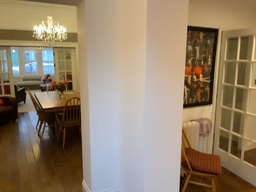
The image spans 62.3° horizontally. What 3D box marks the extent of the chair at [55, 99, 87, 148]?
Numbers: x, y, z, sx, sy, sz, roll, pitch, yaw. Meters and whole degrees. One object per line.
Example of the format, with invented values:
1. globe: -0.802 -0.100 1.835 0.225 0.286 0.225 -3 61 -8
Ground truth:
1. chair: -1.100 0.500 4.080 0.460 0.760 0.480 -6 13 -30

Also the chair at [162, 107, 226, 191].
1. chair: 0.750 0.680 2.460 0.600 0.970 0.490 4 12 20
